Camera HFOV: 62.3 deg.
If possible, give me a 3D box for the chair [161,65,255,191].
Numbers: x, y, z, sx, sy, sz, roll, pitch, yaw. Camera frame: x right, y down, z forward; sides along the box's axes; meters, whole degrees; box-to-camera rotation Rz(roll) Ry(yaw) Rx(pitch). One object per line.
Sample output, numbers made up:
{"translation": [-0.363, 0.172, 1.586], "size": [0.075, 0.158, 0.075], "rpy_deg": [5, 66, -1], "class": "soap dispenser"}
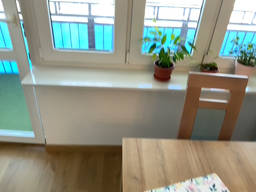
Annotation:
{"translation": [0.420, 0.390, 1.170], "size": [0.310, 0.980, 0.460], "rpy_deg": [7, 35, 3], "class": "chair"}
